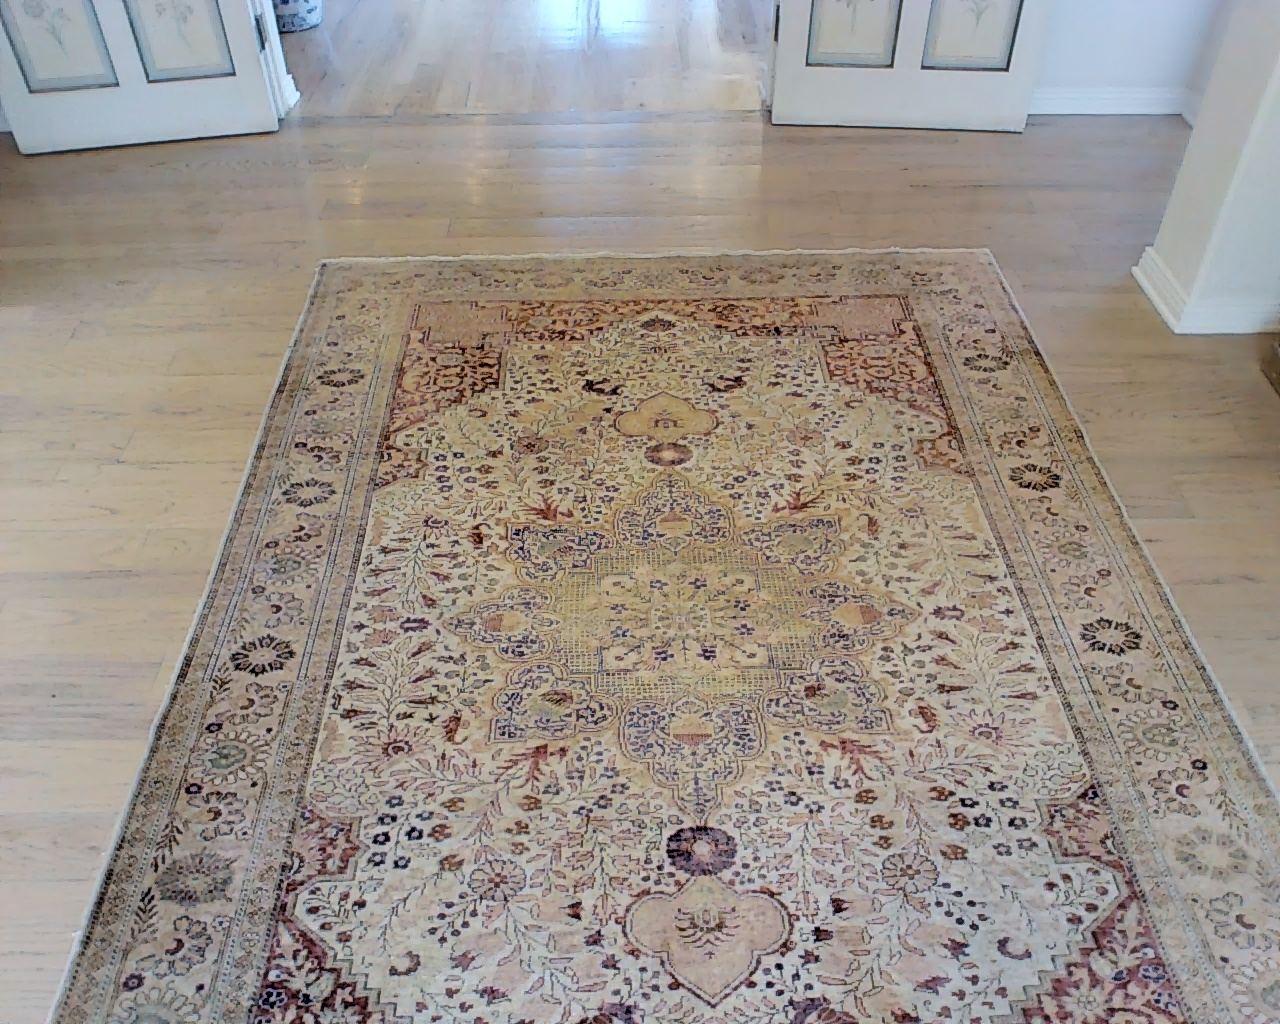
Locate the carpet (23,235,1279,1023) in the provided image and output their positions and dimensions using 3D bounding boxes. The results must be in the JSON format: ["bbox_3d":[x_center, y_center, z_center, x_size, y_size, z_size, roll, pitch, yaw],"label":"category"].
[{"bbox_3d":[0.110,0.230,2.180,2.120,0.020,3.110,-2,42,-2],"label":"carpet"}]
